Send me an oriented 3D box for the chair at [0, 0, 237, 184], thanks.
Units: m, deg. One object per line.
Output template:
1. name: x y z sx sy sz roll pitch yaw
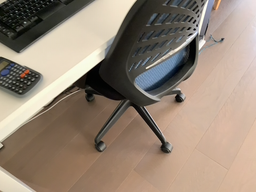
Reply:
1. chair: 0.000 -0.180 0.960 0.610 0.920 0.620 30 59 23
